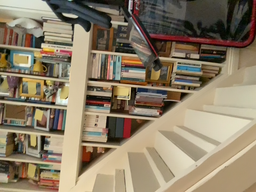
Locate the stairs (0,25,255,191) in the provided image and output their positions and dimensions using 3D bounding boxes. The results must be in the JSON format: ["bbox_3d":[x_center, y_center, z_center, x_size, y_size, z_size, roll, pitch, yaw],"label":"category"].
[{"bbox_3d":[0.940,0.270,1.200,3.970,0.870,0.780,1,141,-4],"label":"stairs"}]

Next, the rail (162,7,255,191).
[{"bbox_3d":[0.900,0.350,0.830,0.810,3.920,0.120,-1,130,-4],"label":"rail"}]

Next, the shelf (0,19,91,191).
[{"bbox_3d":[-1.100,0.100,1.910,1.350,1.510,0.170,6,180,-2],"label":"shelf"}]
